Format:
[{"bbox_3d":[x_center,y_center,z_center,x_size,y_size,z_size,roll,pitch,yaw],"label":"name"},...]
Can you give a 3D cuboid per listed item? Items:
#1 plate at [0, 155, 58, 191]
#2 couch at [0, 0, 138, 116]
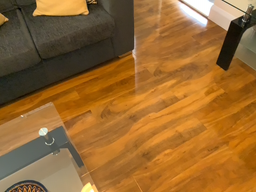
[{"bbox_3d":[-0.380,0.390,0.810,0.190,0.100,0.240,-30,57,-21],"label":"plate"},{"bbox_3d":[-0.840,-0.620,1.650,1.510,0.770,1.050,-25,55,-17],"label":"couch"}]
